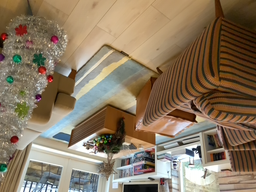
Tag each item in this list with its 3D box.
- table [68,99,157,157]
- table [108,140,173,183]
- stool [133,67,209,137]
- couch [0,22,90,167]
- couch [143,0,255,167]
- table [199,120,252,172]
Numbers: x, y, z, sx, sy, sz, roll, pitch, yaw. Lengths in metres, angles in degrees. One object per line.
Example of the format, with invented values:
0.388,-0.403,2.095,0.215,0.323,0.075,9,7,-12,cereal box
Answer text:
-0.240,0.520,3.000,0.750,0.350,1.080,24,145,-30,table
0.200,1.300,4.070,0.420,0.550,1.350,25,144,-31,table
0.400,0.090,2.120,0.520,0.410,0.520,13,149,-15,stool
-1.320,0.180,2.210,0.930,0.710,1.800,26,144,-32,couch
0.690,-0.070,1.420,0.890,0.790,0.830,13,149,-15,couch
1.300,0.690,2.870,0.400,0.540,0.440,25,144,-31,table
